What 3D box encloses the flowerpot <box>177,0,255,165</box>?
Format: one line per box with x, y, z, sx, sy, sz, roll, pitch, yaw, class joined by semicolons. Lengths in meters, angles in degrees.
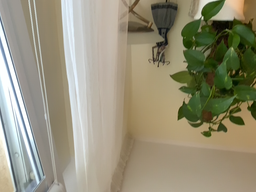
0.450;-0.160;0.890;0.410;0.650;0.540;5;-158;12;flowerpot
